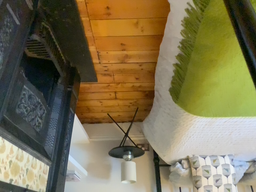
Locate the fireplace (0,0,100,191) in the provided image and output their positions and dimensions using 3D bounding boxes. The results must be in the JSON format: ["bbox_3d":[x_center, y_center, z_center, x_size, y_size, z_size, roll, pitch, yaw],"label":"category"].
[{"bbox_3d":[-0.490,0.140,1.130,0.440,1.260,1.270,-1,150,1],"label":"fireplace"}]

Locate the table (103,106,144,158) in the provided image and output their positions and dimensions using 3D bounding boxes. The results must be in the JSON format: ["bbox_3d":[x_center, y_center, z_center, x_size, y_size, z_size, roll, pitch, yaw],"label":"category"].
[{"bbox_3d":[-0.040,0.410,2.370,0.410,0.470,0.370,-2,150,2],"label":"table"}]
